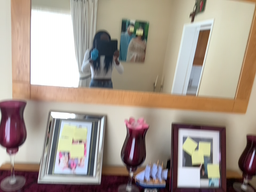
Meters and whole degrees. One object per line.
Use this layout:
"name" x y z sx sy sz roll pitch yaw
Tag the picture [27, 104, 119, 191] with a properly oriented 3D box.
"picture" -0.320 0.320 1.260 0.360 0.400 0.130 33 15 -8
